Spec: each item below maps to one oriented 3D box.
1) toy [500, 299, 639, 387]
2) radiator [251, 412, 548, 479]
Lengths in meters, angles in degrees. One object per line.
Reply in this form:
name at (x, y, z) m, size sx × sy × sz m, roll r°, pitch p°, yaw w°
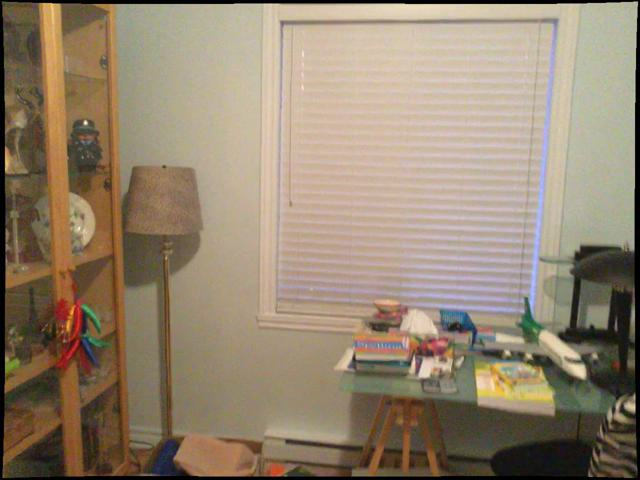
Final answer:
toy at (0.929, 0.340, 2.010) m, size 0.420 × 0.100 × 0.570 m, roll 1°, pitch 11°, yaw -1°
radiator at (0.320, 0.941, 2.520) m, size 1.239 × 0.220 × 0.140 m, roll 3°, pitch 11°, yaw 9°
